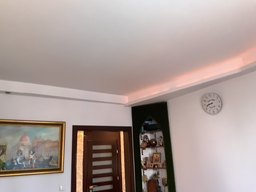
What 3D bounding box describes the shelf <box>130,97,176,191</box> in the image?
[{"bbox_3d":[0.390,1.060,3.360,0.400,1.990,0.530,6,-17,-30],"label":"shelf"}]
